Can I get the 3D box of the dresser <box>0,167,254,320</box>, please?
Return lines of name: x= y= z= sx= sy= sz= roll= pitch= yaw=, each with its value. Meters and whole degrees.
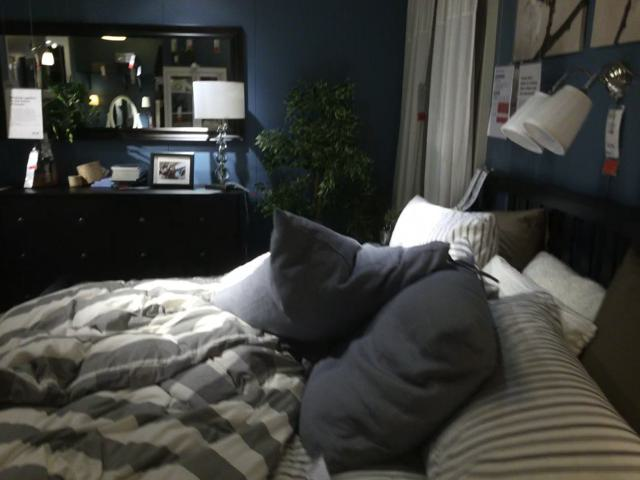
dresser: x=-1.230 y=-0.010 z=3.720 sx=1.580 sy=0.890 sz=0.480 roll=-1 pitch=8 yaw=-6

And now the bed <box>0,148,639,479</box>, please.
bed: x=-0.120 y=0.360 z=1.910 sx=2.140 sy=1.180 sz=2.260 roll=-1 pitch=12 yaw=-6

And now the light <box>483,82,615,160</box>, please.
light: x=0.650 y=-0.350 z=1.700 sx=0.190 sy=0.200 sz=0.390 roll=-1 pitch=12 yaw=-6
